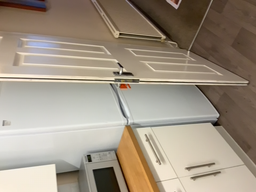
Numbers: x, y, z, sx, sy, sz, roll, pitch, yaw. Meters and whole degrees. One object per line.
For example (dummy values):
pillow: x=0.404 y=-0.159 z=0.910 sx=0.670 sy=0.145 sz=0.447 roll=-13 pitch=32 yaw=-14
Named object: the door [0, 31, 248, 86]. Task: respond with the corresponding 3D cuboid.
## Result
door: x=-0.140 y=-0.260 z=1.480 sx=0.700 sy=2.010 sz=0.050 roll=-126 pitch=42 yaw=-52
